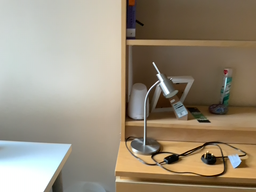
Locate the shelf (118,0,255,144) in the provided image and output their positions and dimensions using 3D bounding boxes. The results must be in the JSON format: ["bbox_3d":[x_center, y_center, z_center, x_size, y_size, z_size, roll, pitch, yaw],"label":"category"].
[{"bbox_3d":[0.380,-0.340,0.900,0.820,1.060,0.270,2,18,1],"label":"shelf"}]
